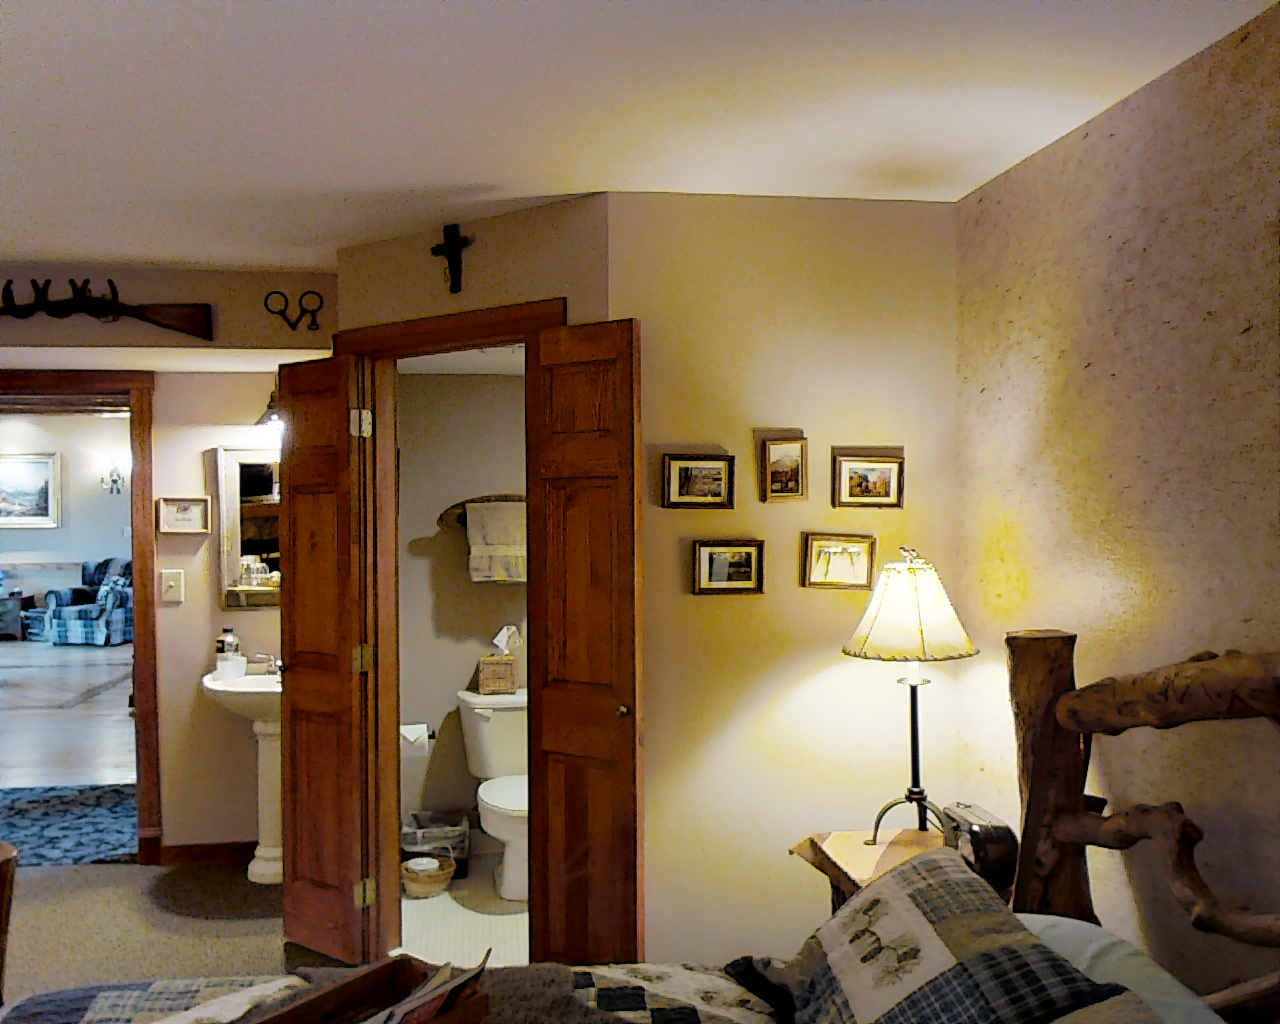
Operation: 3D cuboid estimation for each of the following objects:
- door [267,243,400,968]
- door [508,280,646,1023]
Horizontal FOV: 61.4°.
[{"bbox_3d":[-1.060,0.310,3.720,0.450,2.371,0.180,1,1,37],"label":"door"},{"bbox_3d":[-0.180,0.440,3.020,0.420,2.110,0.080,1,1,37],"label":"door"}]
